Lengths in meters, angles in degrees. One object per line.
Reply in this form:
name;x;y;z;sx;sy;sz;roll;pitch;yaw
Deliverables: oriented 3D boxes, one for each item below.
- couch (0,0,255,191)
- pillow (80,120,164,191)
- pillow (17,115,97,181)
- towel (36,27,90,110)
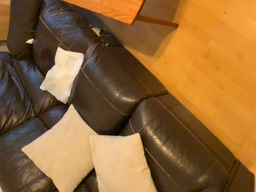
couch;-0.360;0.120;1.440;2.030;0.930;0.980;49;126;20
pillow;-0.040;0.390;1.170;0.400;0.110;0.450;-15;91;40
pillow;-0.400;0.290;1.280;0.380;0.400;0.090;-103;17;-46
towel;-0.460;-0.180;1.440;0.310;0.100;0.450;44;124;23
